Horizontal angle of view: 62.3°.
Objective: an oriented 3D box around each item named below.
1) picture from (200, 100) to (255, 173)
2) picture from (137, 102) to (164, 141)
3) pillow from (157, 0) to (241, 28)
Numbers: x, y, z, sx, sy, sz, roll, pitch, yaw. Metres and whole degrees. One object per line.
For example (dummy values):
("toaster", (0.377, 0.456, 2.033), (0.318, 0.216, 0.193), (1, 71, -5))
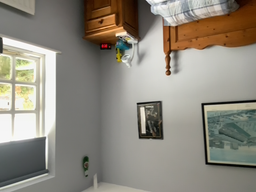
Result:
("picture", (1.060, 0.350, 1.890), (0.770, 0.630, 0.070), (-3, 176, 30))
("picture", (0.250, 0.280, 2.380), (0.300, 0.410, 0.050), (-3, 176, 31))
("pillow", (0.640, -0.800, 1.920), (0.660, 0.120, 0.350), (-3, 176, 30))
